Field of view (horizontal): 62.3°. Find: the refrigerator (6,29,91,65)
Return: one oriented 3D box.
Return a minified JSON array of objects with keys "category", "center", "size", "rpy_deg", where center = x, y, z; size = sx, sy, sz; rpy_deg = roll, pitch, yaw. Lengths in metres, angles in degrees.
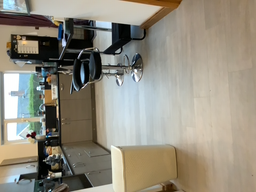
[{"category":"refrigerator","center":[-1.910,-1.150,5.230],"size":[0.690,1.840,0.590],"rpy_deg":[174,94,-67]}]

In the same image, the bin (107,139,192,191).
[{"category":"bin","center":[0.200,0.730,2.060],"size":[0.360,0.710,0.520],"rpy_deg":[164,104,-66]}]
